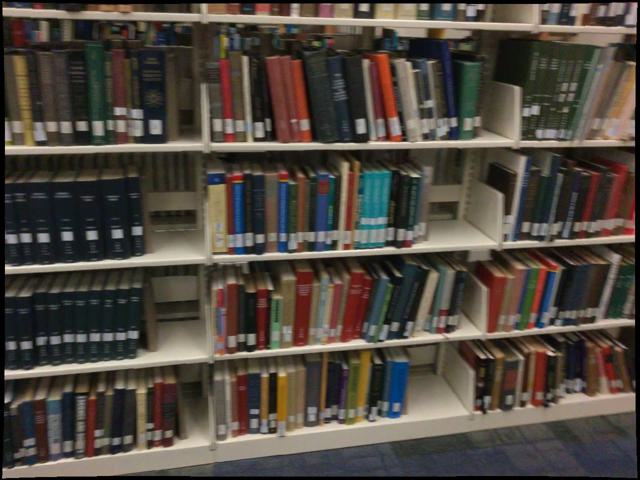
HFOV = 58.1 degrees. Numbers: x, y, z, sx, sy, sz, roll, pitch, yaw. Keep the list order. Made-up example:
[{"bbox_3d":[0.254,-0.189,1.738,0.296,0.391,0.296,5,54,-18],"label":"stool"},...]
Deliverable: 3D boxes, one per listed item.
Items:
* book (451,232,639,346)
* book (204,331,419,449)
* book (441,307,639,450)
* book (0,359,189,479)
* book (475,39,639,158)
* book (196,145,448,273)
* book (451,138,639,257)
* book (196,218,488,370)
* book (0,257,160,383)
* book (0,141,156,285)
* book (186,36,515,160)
[{"bbox_3d":[0.958,0.160,2.100,0.908,0.281,0.220,-4,21,-13],"label":"book"},{"bbox_3d":[-0.030,0.511,2.000,0.708,0.271,0.160,-4,21,-13],"label":"book"},{"bbox_3d":[0.918,0.501,2.160,0.878,0.391,0.190,-4,21,-13],"label":"book"},{"bbox_3d":[-0.928,0.622,1.830,0.978,0.331,0.170,-4,21,-13],"label":"book"},{"bbox_3d":[0.938,-0.471,1.870,0.778,0.331,0.250,-4,21,-13],"label":"book"},{"bbox_3d":[-0.010,-0.120,1.860,0.738,0.291,0.320,-4,21,-13],"label":"book"},{"bbox_3d":[0.967,-0.170,2.020,0.938,0.311,0.280,-4,21,-13],"label":"book"},{"bbox_3d":[0.060,0.160,1.970,0.918,0.341,0.310,-4,21,-13],"label":"book"},{"bbox_3d":[-0.918,0.251,1.780,0.788,0.261,0.260,-4,21,-13],"label":"book"},{"bbox_3d":[-0.928,-0.100,1.770,0.778,0.291,0.510,-4,21,-13],"label":"book"},{"bbox_3d":[0.080,-0.441,1.730,0.918,0.311,0.270,-4,21,-13],"label":"book"}]
